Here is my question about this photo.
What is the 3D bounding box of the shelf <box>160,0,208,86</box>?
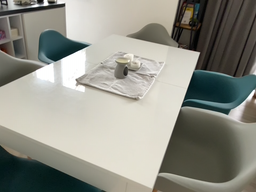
[{"bbox_3d":[0.850,-1.300,2.720,0.350,2.320,0.510,16,32,15],"label":"shelf"}]
